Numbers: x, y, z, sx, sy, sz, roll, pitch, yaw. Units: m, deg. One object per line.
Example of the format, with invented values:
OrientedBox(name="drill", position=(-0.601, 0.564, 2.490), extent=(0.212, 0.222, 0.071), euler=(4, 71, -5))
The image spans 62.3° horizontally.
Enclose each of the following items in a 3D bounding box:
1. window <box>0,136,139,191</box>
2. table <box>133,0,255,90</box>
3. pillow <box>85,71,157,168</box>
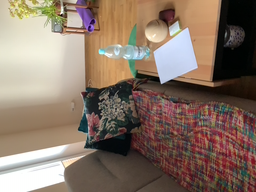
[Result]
OrientedBox(name="window", position=(-1.140, 0.950, 2.470), extent=(0.980, 2.400, 0.240), euler=(18, 110, 57))
OrientedBox(name="table", position=(0.450, -0.420, 1.330), extent=(0.660, 0.540, 0.620), euler=(22, 113, 56))
OrientedBox(name="pillow", position=(-0.070, 0.150, 1.720), extent=(0.310, 0.470, 0.660), euler=(21, 113, 56))
